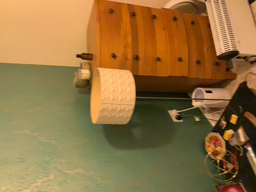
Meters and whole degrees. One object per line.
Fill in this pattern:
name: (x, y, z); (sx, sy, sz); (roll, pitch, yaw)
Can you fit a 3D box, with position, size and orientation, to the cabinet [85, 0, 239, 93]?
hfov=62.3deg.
cabinet: (0.260, -0.400, 1.950); (0.570, 1.210, 0.610); (141, 127, -67)
